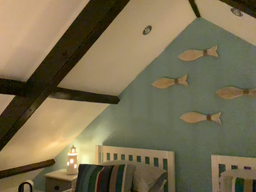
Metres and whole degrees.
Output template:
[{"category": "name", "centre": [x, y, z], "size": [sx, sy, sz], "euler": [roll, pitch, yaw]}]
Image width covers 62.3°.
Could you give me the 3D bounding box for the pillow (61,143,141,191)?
[{"category": "pillow", "centre": [-0.250, 0.730, 1.840], "size": [0.590, 0.390, 0.190], "euler": [-35, -20, 20]}]
